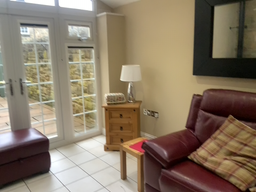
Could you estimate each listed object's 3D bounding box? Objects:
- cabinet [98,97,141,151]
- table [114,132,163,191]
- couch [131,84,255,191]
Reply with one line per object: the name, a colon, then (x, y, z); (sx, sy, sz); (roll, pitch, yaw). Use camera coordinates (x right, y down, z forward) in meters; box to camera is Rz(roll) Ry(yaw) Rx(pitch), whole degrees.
cabinet: (-0.100, 0.390, 3.200); (0.550, 0.660, 0.520); (1, 11, 8)
table: (0.110, 0.690, 2.330); (0.390, 0.410, 0.360); (-10, 14, -39)
couch: (1.000, 0.530, 1.610); (1.040, 0.990, 1.730); (-11, 15, -42)
